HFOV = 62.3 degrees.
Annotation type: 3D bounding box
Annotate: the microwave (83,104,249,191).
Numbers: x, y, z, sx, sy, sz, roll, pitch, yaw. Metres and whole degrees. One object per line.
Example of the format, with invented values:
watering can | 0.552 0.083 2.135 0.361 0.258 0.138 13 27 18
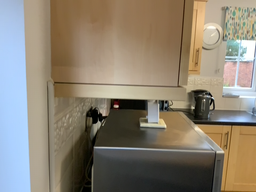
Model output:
microwave | 0.120 0.250 0.920 0.500 0.310 0.510 3 9 3
